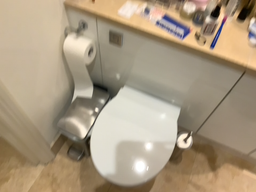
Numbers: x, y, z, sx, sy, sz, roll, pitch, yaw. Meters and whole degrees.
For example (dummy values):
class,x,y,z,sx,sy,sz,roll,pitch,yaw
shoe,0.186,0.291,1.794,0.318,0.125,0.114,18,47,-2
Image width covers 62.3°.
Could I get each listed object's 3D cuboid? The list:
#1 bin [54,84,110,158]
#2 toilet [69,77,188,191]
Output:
class,x,y,z,sx,sy,sz,roll,pitch,yaw
bin,-0.250,0.160,1.270,0.170,0.350,0.280,22,59,10
toilet,0.010,0.270,1.150,0.380,0.470,0.460,22,59,10
